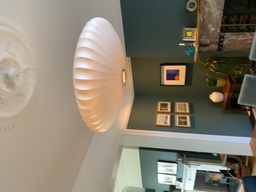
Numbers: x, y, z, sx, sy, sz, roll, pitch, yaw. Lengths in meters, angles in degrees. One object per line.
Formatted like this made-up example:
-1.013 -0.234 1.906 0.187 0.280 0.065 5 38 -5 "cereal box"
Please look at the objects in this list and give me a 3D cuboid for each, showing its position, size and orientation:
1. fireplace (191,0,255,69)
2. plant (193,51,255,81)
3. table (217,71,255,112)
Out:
1.700 -1.340 3.010 0.750 1.360 1.740 -74 -17 -51 "fireplace"
1.850 -0.550 3.830 0.470 1.240 0.350 -74 -17 -51 "plant"
2.170 -0.090 4.090 0.450 0.700 0.620 -74 -17 -51 "table"
